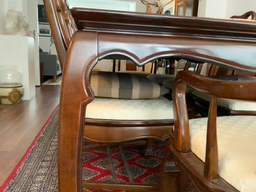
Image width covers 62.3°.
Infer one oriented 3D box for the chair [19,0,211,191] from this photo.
[{"bbox_3d":[-0.080,-0.090,1.030,0.650,1.040,0.540,0,11,-10],"label":"chair"}]
